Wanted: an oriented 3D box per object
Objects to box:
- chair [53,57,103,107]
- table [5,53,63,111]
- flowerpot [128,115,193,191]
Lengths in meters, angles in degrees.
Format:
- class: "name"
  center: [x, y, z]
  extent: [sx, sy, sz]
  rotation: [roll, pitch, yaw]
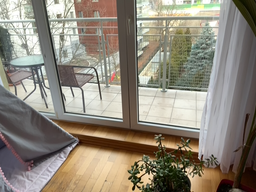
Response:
- class: "chair"
  center: [-0.700, -0.220, 3.070]
  extent: [0.490, 0.580, 0.420]
  rotation: [6, 27, 16]
- class: "table"
  center: [-1.290, -0.210, 2.990]
  extent: [0.450, 0.660, 0.440]
  rotation: [6, 27, 16]
- class: "flowerpot"
  center: [0.260, 0.540, 1.540]
  extent: [0.300, 0.520, 0.620]
  rotation: [7, 27, 19]
